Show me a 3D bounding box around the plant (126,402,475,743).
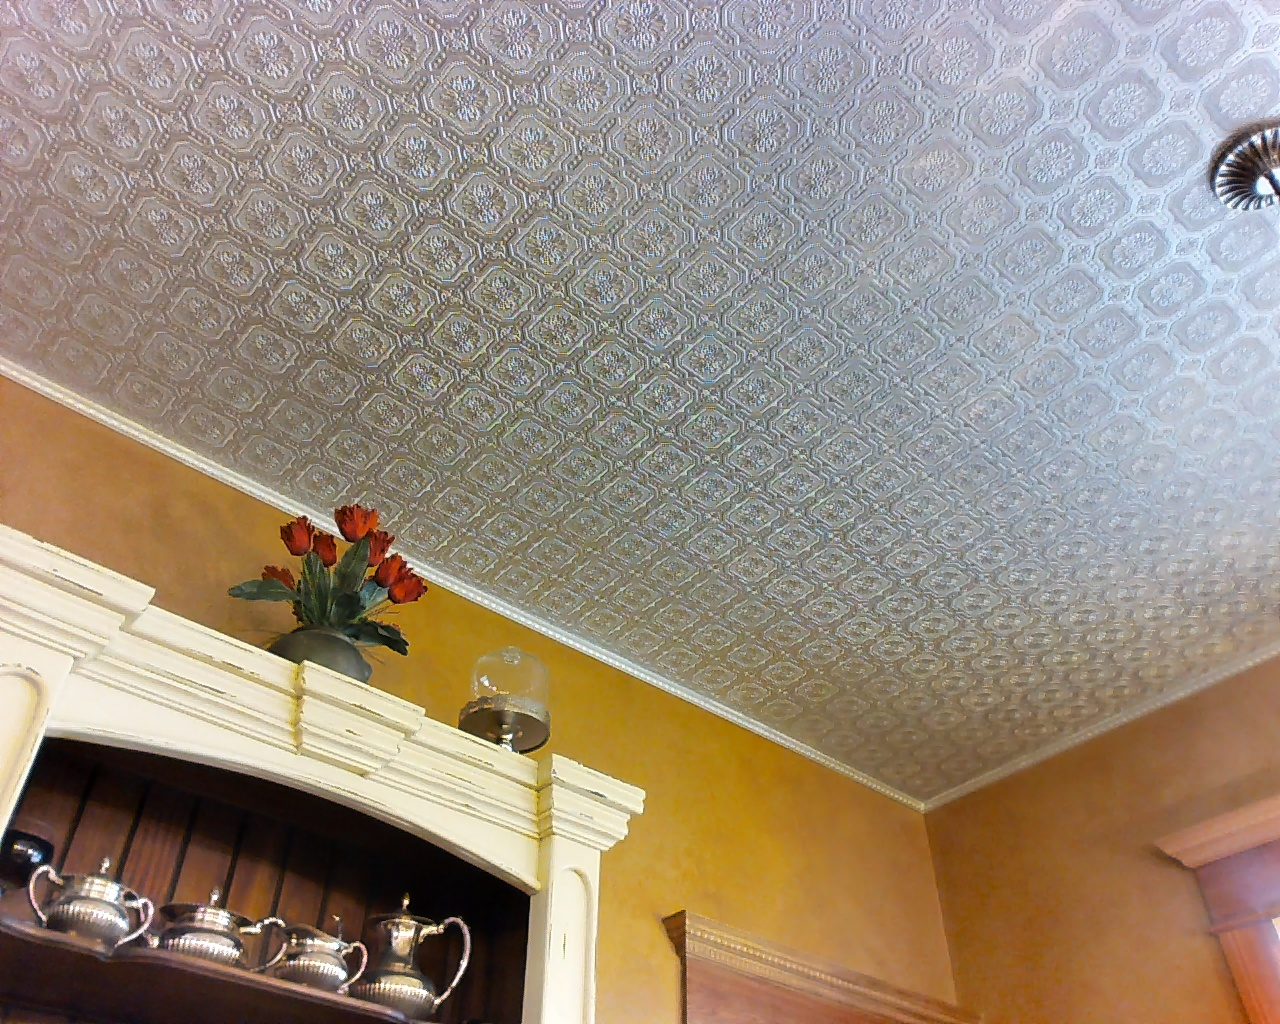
[{"bbox_3d":[-0.620,0.130,2.010,0.390,0.340,0.450,32,-51,-30],"label":"plant"}]
